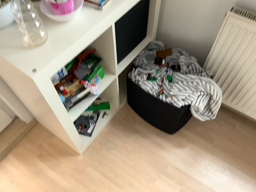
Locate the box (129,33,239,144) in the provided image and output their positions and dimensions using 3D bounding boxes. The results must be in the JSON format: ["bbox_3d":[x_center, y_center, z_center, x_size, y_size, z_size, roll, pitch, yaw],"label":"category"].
[{"bbox_3d":[0.300,-0.040,1.320,0.490,0.400,0.330,35,64,19],"label":"box"}]
